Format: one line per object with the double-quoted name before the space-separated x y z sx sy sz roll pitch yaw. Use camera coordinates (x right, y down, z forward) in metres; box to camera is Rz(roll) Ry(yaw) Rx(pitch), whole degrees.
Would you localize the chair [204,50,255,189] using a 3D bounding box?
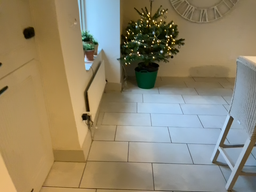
"chair" 0.980 0.190 1.640 0.490 0.970 0.450 2 26 3
